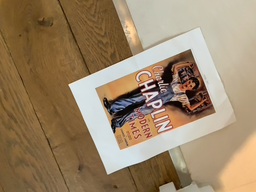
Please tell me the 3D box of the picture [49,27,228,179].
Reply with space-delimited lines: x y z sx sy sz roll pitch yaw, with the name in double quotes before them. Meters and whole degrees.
"picture" 0.020 0.020 0.440 0.310 0.010 0.210 -23 94 3
